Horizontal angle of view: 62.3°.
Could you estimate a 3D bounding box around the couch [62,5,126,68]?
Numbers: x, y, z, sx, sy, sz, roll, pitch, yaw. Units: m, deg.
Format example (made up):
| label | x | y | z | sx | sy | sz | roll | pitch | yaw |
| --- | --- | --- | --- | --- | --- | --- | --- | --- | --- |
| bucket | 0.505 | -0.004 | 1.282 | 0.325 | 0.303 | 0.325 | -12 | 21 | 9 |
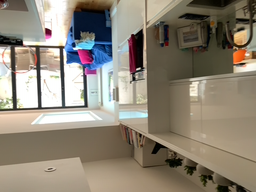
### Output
| label | x | y | z | sx | sy | sz | roll | pitch | yaw |
| --- | --- | --- | --- | --- | --- | --- | --- | --- | --- |
| couch | -0.970 | -1.250 | 5.130 | 1.100 | 0.860 | 2.420 | -2 | -178 | -20 |
